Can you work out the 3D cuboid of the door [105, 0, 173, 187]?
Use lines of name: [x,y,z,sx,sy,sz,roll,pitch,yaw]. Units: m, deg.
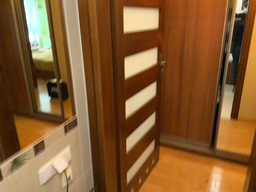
door: [0.170,-0.350,1.810,0.130,1.710,1.250,8,22,21]
